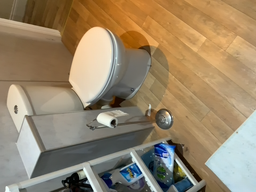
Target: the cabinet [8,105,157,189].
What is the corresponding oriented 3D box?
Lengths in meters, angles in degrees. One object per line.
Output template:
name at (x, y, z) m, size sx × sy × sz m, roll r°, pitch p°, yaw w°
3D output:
cabinet at (-0.210, 0.250, 1.300) m, size 0.260 × 0.850 × 0.220 m, roll 53°, pitch 125°, yaw 28°
